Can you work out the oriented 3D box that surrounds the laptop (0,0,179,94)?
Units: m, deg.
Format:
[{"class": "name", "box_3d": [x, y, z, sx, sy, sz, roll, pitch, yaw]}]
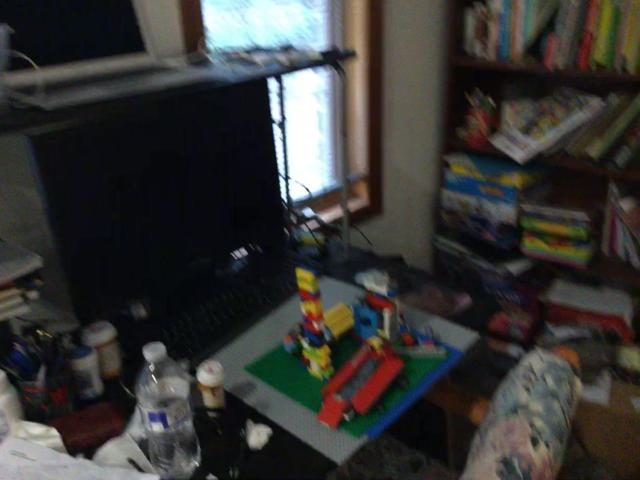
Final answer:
[{"class": "laptop", "box_3d": [-0.430, -0.380, 0.980, 0.240, 0.220, 0.250, 14, 28, 41]}]

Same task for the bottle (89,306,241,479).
[{"class": "bottle", "box_3d": [-0.200, 0.210, 0.760, 0.130, 0.190, 0.110, 14, 28, 41]}]
